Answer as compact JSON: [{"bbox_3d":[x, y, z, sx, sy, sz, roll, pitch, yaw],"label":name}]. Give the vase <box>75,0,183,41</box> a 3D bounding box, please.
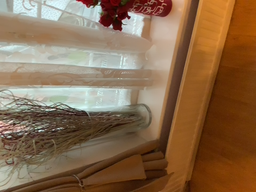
[{"bbox_3d":[0.030,-0.410,0.950,0.160,0.480,0.250,24,110,44],"label":"vase"}]
